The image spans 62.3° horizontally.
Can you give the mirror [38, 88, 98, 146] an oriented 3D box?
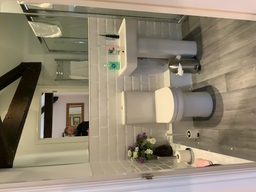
[{"bbox_3d":[-1.060,0.350,3.780,0.100,1.010,0.980,159,110,-77],"label":"mirror"}]
